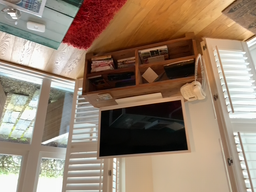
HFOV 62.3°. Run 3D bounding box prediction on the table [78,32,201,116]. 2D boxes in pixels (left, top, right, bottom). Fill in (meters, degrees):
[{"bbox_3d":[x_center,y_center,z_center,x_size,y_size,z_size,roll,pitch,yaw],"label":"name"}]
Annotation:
[{"bbox_3d":[0.110,-0.160,1.940,0.990,0.450,0.420,-9,154,15],"label":"table"}]
